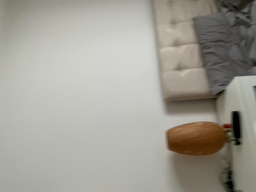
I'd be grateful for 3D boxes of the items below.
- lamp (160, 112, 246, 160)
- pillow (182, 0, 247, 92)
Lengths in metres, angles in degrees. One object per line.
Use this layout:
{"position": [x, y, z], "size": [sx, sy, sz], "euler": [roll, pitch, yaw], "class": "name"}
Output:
{"position": [0.470, 0.280, 1.430], "size": [0.240, 0.470, 0.250], "euler": [79, -172, -68], "class": "lamp"}
{"position": [0.670, -0.420, 1.600], "size": [0.100, 0.380, 0.700], "euler": [125, 167, -64], "class": "pillow"}
